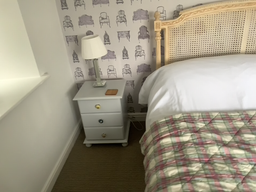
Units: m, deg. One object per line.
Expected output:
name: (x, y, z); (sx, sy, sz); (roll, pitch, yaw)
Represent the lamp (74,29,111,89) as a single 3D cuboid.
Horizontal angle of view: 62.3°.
lamp: (-0.320, -0.350, 2.020); (0.210, 0.500, 0.260); (-2, 28, 7)
